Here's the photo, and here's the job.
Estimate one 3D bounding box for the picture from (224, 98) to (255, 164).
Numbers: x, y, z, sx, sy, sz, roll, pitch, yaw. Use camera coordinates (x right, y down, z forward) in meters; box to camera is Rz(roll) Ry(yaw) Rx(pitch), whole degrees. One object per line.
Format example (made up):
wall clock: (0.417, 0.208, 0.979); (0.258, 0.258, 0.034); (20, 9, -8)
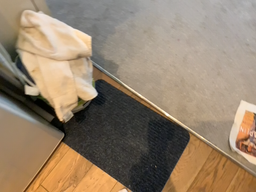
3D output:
picture: (0.630, 0.180, 1.080); (0.200, 0.030, 0.290); (21, 73, 7)
